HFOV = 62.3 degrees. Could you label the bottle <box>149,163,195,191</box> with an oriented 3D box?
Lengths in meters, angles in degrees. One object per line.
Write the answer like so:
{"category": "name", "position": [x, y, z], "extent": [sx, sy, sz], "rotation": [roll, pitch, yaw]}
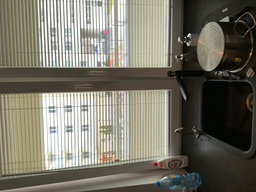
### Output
{"category": "bottle", "position": [0.310, 0.610, 1.510], "extent": [0.110, 0.300, 0.200], "rotation": [-166, 75, -78]}

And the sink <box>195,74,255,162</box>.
{"category": "sink", "position": [0.620, 0.080, 1.230], "extent": [0.510, 0.210, 0.400], "rotation": [-159, 68, -77]}
